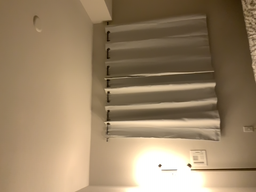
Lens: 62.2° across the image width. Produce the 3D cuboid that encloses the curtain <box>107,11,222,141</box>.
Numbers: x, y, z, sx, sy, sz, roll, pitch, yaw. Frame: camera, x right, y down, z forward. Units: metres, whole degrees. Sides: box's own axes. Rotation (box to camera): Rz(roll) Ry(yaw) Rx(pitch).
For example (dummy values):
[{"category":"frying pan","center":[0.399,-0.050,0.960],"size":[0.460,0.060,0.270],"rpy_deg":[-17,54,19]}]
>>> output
[{"category":"curtain","center":[0.470,-0.330,3.220],"size":[0.050,1.590,1.960],"rpy_deg":[57,-148,-73]}]
